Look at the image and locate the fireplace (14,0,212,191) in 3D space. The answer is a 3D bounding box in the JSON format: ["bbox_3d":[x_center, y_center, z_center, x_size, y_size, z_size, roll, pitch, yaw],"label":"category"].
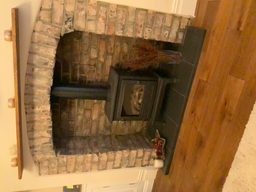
[{"bbox_3d":[-0.220,0.020,2.000,0.640,1.400,1.660,-130,46,-61],"label":"fireplace"}]
